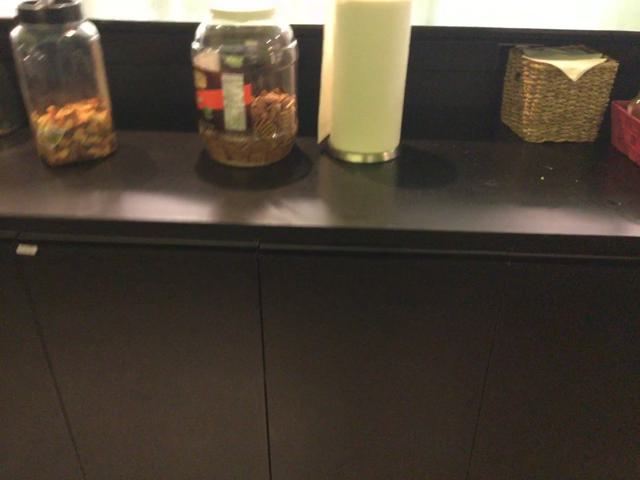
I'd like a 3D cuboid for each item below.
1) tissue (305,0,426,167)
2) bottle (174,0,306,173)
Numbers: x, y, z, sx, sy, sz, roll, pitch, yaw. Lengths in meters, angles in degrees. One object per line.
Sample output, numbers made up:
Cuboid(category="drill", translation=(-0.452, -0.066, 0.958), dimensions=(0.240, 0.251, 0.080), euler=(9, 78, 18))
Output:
Cuboid(category="tissue", translation=(0.080, -0.330, 1.110), dimensions=(0.200, 0.340, 0.130), euler=(4, 29, 2))
Cuboid(category="bottle", translation=(-0.140, -0.310, 1.120), dimensions=(0.200, 0.280, 0.230), euler=(4, 29, 2))
